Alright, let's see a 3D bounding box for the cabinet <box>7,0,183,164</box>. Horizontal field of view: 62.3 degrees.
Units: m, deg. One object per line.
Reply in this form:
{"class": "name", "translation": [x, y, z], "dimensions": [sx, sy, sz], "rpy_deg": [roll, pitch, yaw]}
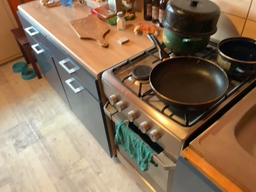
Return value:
{"class": "cabinet", "translation": [-0.300, -0.280, 1.750], "dimensions": [0.640, 0.840, 1.250], "rpy_deg": [-31, 49, -25]}
